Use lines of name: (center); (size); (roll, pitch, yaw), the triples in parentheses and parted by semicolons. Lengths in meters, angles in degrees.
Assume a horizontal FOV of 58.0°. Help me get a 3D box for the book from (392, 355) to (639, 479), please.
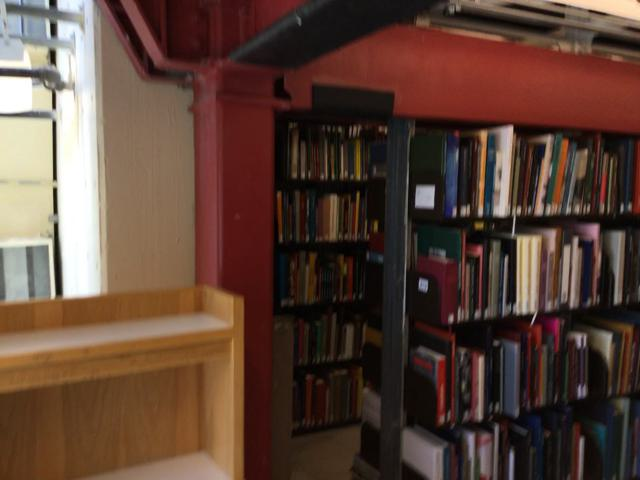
book: (1.010, 0.850, 2.400); (1.430, 0.450, 0.360); (-4, 6, -24)

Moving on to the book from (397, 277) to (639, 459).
book: (1.050, 0.460, 2.410); (1.490, 0.450, 0.340); (-4, 6, -24)

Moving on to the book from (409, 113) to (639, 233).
book: (1.090, -0.280, 2.350); (1.510, 0.390, 0.310); (-4, 6, -24)

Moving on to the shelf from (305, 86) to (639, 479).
shelf: (0.880, 0.370, 2.610); (1.620, 1.870, 0.890); (-4, 6, -25)

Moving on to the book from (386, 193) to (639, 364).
book: (1.050, 0.090, 2.440); (1.520, 0.530, 0.430); (-4, 6, -24)
